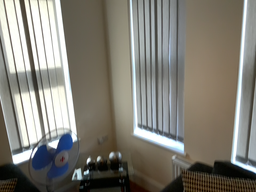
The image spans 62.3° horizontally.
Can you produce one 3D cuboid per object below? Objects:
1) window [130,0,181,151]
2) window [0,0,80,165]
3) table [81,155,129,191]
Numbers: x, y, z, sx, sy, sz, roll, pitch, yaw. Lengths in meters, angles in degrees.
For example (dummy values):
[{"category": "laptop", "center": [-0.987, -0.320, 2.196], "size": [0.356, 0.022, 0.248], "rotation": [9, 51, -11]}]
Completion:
[{"category": "window", "center": [0.240, -0.280, 1.960], "size": [0.040, 1.520, 0.540], "rotation": [-16, 19, -40]}, {"category": "window", "center": [-0.810, -0.220, 1.870], "size": [0.040, 1.510, 0.700], "rotation": [11, 20, 43]}, {"category": "table", "center": [-0.250, 0.880, 2.430], "size": [0.500, 0.260, 0.280], "rotation": [-3, 15, -2]}]
